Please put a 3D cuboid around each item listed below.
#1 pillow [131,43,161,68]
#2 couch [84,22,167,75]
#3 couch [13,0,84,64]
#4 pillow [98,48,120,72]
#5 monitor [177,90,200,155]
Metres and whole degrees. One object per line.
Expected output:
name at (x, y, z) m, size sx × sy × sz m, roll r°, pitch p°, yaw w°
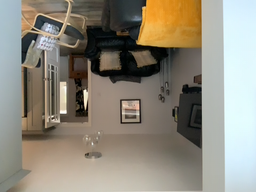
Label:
pillow at (0.370, -0.870, 4.590) m, size 0.600 × 0.460 × 0.260 m, roll 0°, pitch -132°, yaw 1°
couch at (-0.050, -0.960, 4.600) m, size 1.600 × 0.920 × 1.040 m, roll 0°, pitch 180°, yaw -1°
couch at (-1.160, -0.980, 3.240) m, size 0.820 × 0.890 × 0.680 m, roll 0°, pitch 180°, yaw 1°
pillow at (-0.410, -0.790, 4.680) m, size 0.460 × 0.470 × 0.250 m, roll 0°, pitch -156°, yaw -1°
monitor at (0.910, 0.330, 3.310) m, size 0.050 × 0.770 × 1.180 m, roll 0°, pitch -175°, yaw 2°
